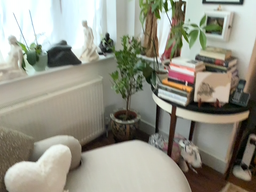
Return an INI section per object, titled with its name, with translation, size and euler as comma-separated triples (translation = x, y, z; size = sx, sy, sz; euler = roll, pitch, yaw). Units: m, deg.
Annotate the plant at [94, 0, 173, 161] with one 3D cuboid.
[plant]
translation = 0.030, -0.160, 1.960
size = 0.470, 1.400, 0.410
euler = 21, 32, 36
